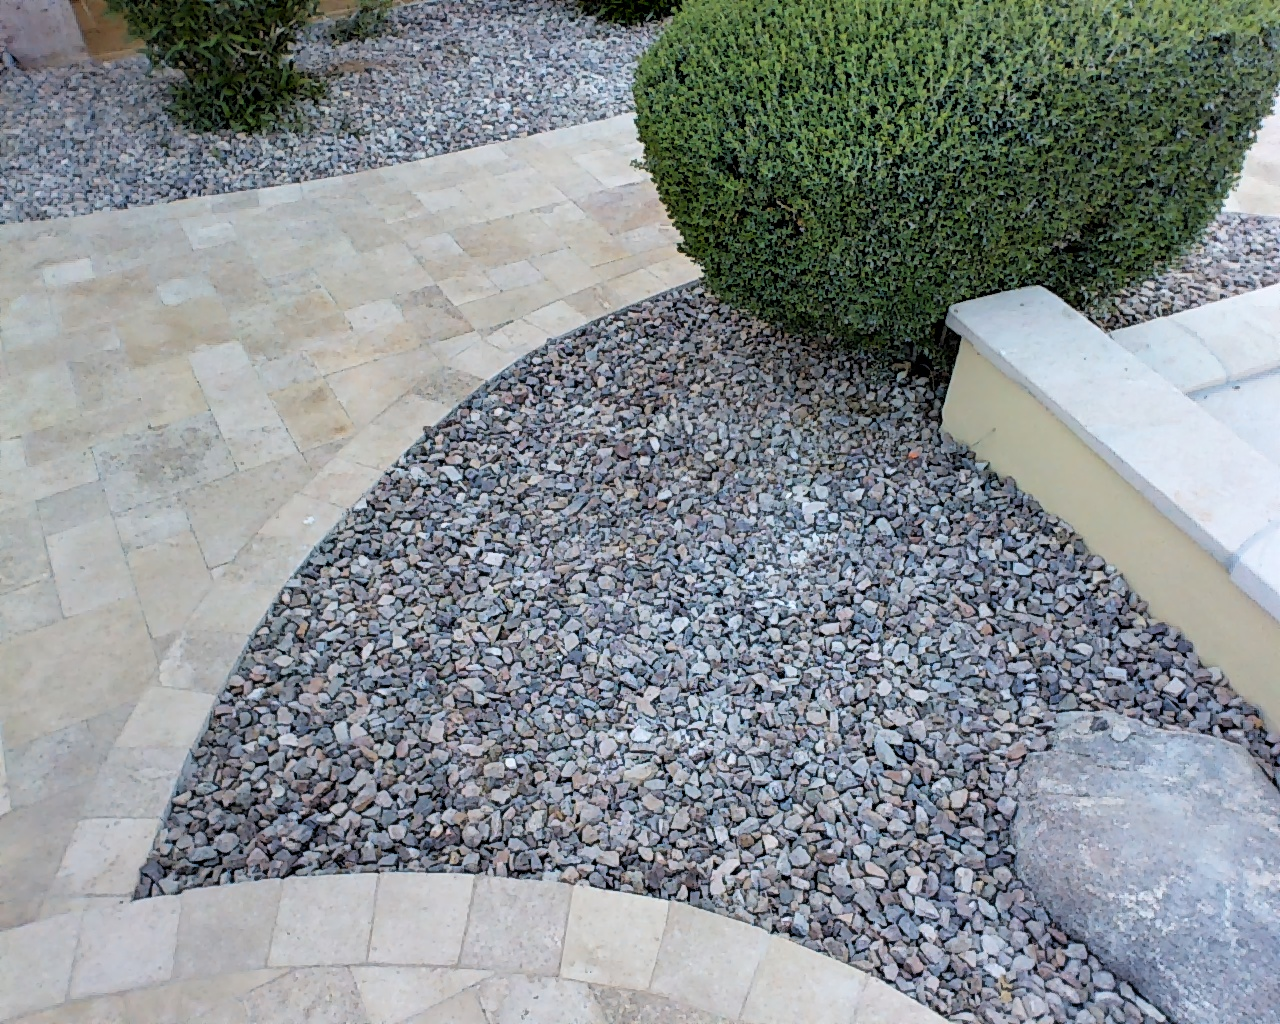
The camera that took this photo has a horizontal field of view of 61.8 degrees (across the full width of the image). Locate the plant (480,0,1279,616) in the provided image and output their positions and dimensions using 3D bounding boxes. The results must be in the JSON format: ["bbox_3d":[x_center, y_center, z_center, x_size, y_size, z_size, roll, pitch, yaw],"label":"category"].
[{"bbox_3d":[0.700,-0.890,2.570,1.590,1.080,1.350,-33,52,-30],"label":"plant"}]

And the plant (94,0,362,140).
[{"bbox_3d":[-1.571,-1.919,3.930,0.800,0.710,0.700,-18,46,-18],"label":"plant"}]
